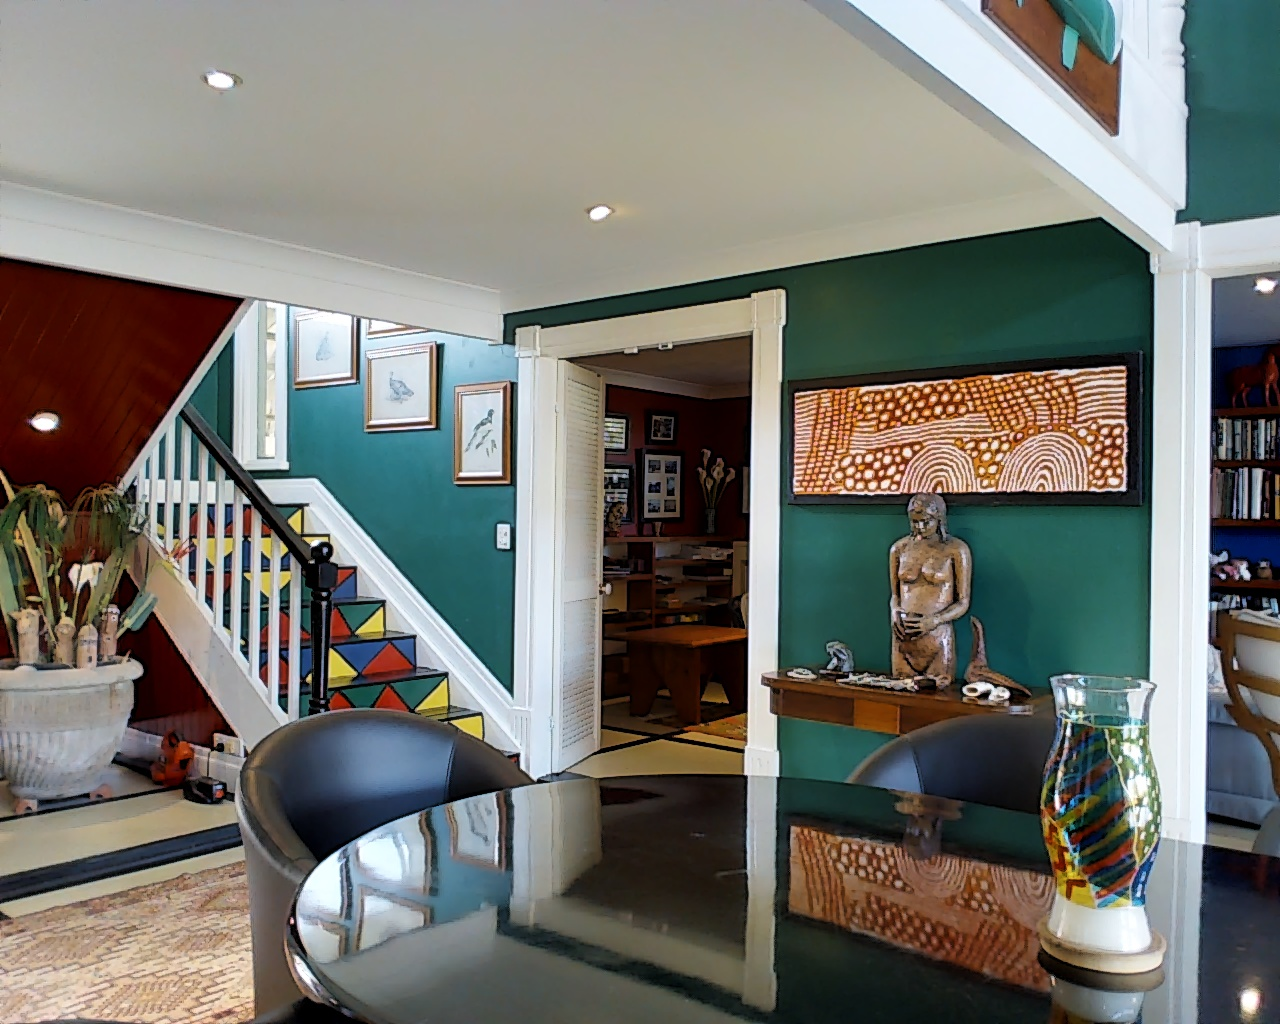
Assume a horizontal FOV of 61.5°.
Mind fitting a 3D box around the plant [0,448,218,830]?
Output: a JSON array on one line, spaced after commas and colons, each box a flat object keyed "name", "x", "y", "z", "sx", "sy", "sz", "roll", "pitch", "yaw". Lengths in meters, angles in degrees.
[{"name": "plant", "x": -2.479, "y": 0.490, "z": 4.730, "sx": 0.820, "sy": 1.470, "sz": 0.860, "roll": 0, "pitch": 0, "yaw": 40}]
